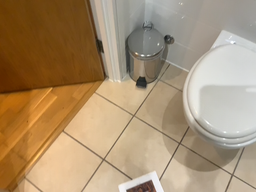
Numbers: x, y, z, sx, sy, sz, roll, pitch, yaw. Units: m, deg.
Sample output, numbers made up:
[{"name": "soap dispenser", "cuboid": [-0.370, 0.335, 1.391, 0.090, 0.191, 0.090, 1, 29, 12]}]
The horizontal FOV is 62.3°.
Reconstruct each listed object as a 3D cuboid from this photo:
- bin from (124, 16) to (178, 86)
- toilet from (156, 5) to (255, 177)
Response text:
[{"name": "bin", "cuboid": [0.130, -0.270, 1.320, 0.220, 0.310, 0.210, 33, 68, 17]}, {"name": "toilet", "cuboid": [0.440, 0.000, 0.960, 0.370, 0.460, 0.520, 30, 68, 16]}]
